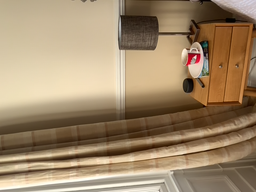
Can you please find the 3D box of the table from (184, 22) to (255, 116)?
[{"bbox_3d":[0.740,-0.200,1.400,0.380,0.570,0.530,-115,24,-70],"label":"table"}]
